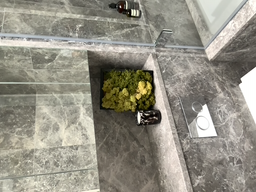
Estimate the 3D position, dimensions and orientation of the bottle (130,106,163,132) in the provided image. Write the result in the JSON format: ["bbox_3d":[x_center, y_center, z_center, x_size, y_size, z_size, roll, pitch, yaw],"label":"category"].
[{"bbox_3d":[0.090,0.120,1.090,0.140,0.110,0.080,118,146,-55],"label":"bottle"}]
